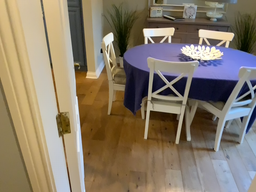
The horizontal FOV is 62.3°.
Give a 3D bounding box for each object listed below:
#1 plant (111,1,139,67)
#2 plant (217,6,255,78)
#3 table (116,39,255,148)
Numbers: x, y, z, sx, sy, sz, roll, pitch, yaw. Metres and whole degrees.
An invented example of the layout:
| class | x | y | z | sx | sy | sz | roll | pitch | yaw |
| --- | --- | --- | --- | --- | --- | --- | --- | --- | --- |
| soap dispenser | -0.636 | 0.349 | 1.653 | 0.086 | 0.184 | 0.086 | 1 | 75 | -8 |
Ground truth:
| class | x | y | z | sx | sy | sz | roll | pitch | yaw |
| --- | --- | --- | --- | --- | --- | --- | --- | --- | --- |
| plant | -0.060 | -1.070 | 3.740 | 0.440 | 1.080 | 0.220 | 4 | 30 | 3 |
| plant | 1.930 | -0.880 | 3.560 | 0.530 | 1.110 | 0.240 | 3 | 30 | 2 |
| table | 0.700 | -0.120 | 2.490 | 1.530 | 0.710 | 1.130 | 5 | 30 | 4 |
